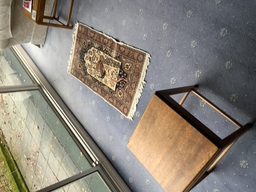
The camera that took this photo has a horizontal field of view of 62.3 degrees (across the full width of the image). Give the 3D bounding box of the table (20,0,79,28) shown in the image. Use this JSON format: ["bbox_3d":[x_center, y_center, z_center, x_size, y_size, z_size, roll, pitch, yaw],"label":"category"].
[{"bbox_3d":[-0.860,-1.020,2.330,0.380,0.460,0.380,37,120,34],"label":"table"}]

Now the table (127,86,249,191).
[{"bbox_3d":[0.370,0.250,1.340,0.420,0.480,0.420,44,124,30],"label":"table"}]
